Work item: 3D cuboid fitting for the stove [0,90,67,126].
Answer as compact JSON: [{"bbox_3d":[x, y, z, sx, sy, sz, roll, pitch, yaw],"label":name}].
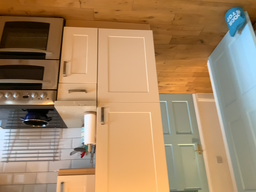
[{"bbox_3d":[-0.870,0.120,1.810,0.590,0.110,0.590,0,157,-7],"label":"stove"}]
